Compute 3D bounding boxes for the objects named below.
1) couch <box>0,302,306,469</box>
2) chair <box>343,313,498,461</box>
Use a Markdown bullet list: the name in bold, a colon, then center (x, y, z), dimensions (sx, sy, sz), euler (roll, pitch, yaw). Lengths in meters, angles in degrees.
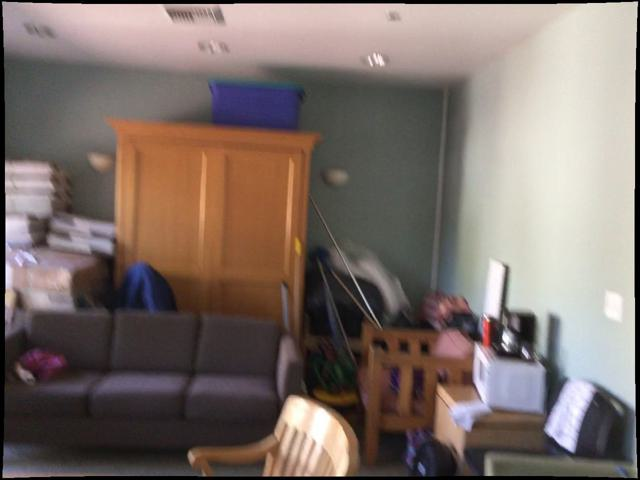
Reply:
- **couch**: center (-1.089, 0.851, 3.580), dimensions (1.928, 0.731, 0.900), euler (2, 5, -5)
- **chair**: center (0.609, 0.921, 3.800), dimensions (0.789, 0.711, 0.820), euler (2, 5, -5)
